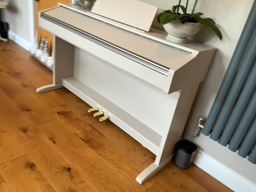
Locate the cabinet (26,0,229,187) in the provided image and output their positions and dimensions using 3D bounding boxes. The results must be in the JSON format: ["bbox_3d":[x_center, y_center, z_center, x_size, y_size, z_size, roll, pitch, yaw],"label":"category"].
[{"bbox_3d":[-0.200,-0.250,1.690,1.460,1.030,0.520,31,34,33],"label":"cabinet"}]
